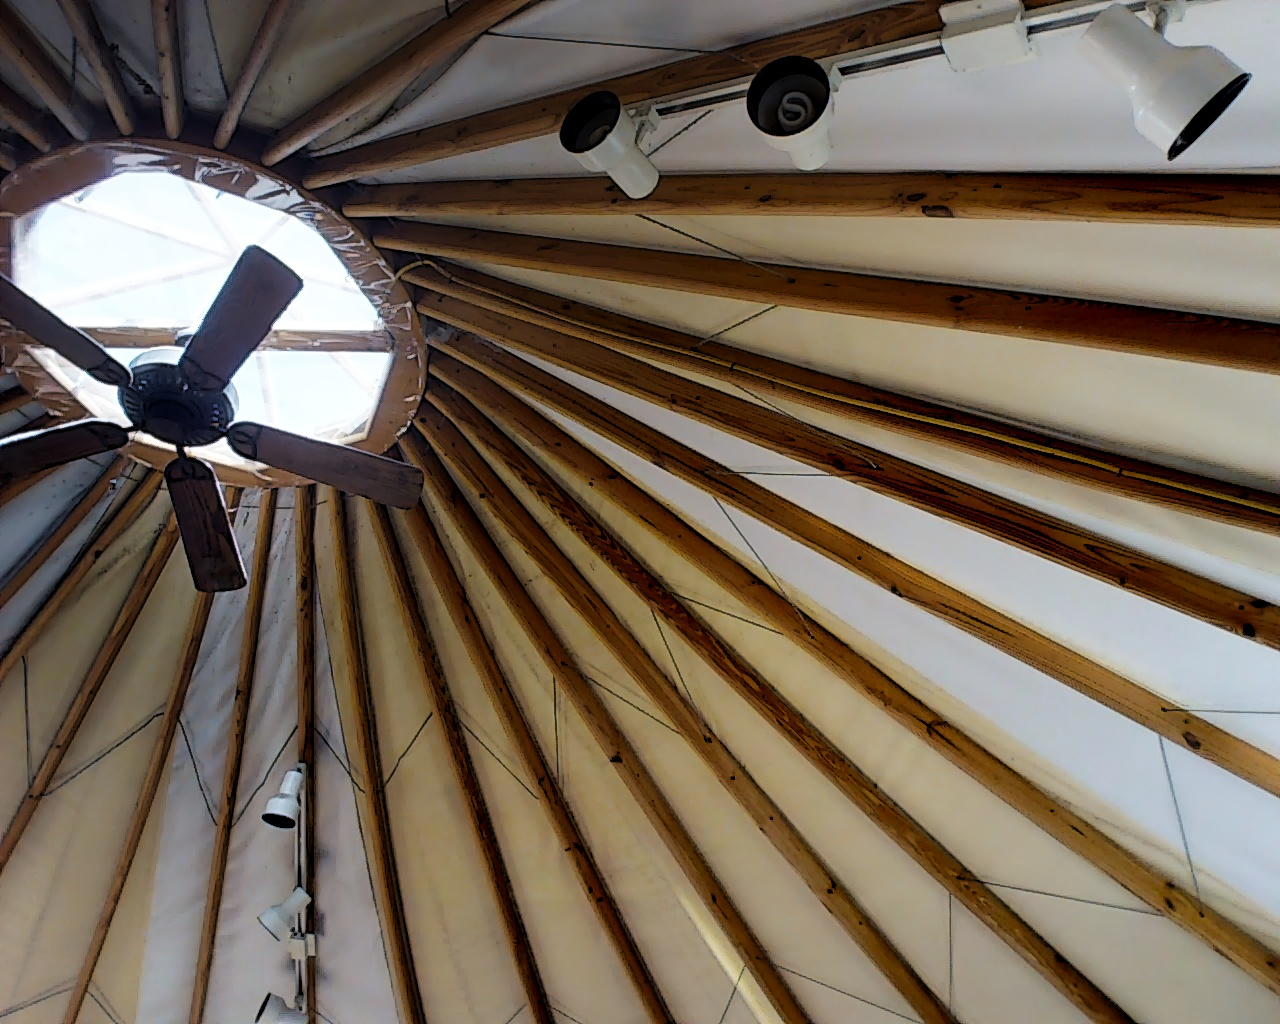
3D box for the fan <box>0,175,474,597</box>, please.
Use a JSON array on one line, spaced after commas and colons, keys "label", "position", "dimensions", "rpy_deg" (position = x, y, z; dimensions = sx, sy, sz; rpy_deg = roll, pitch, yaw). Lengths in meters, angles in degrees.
[{"label": "fan", "position": [-1.290, -0.230, 2.780], "dimensions": [1.510, 0.110, 1.300], "rpy_deg": [-1, -42, 3]}]
